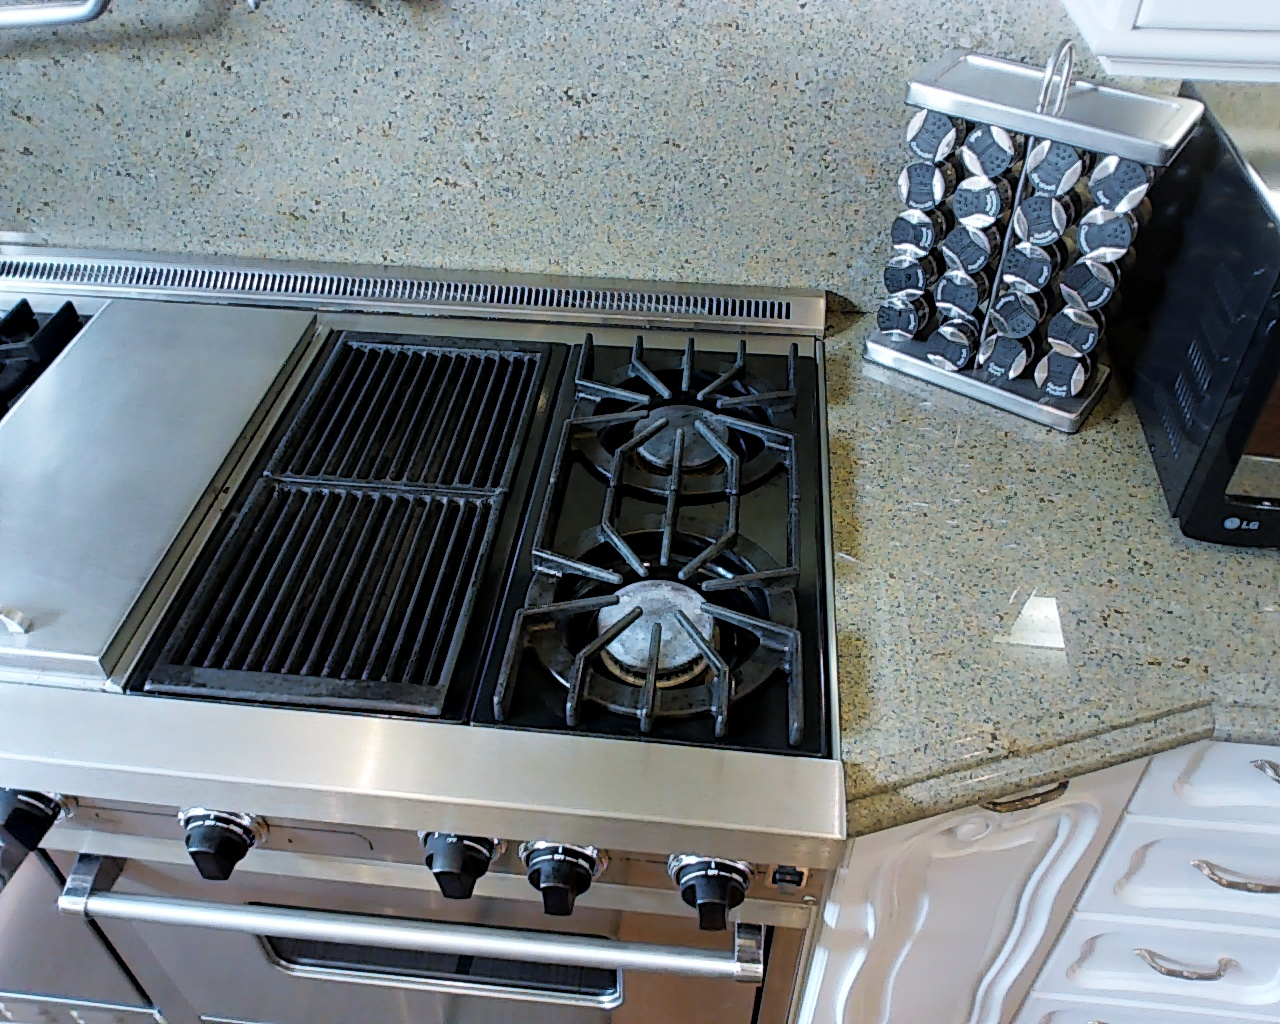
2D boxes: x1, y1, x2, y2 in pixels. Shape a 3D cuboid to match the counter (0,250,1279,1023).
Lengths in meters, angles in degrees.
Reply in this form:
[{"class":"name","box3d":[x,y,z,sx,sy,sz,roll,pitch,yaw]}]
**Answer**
[{"class":"counter","box3d":[-0.550,0.290,1.470,3.540,0.960,0.790,5,42,5]}]
